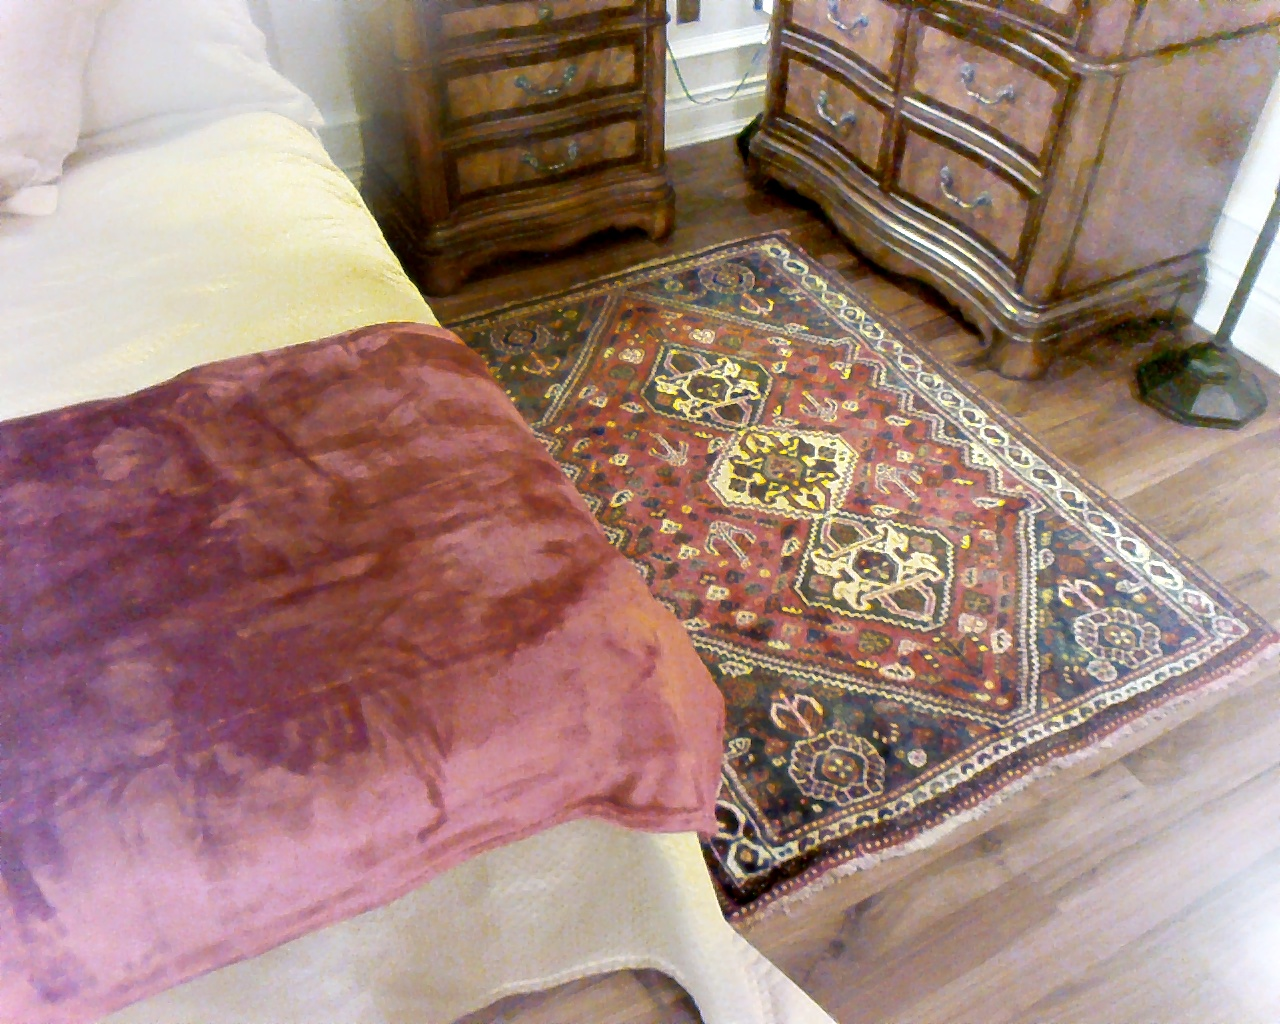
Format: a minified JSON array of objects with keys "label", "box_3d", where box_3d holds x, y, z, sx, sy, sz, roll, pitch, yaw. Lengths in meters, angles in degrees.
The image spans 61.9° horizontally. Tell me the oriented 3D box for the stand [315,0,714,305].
[{"label":"stand","box_3d":[-0.310,-1.090,2.710,0.820,0.780,0.530,-20,46,-20]}]
